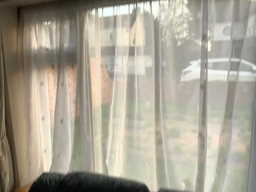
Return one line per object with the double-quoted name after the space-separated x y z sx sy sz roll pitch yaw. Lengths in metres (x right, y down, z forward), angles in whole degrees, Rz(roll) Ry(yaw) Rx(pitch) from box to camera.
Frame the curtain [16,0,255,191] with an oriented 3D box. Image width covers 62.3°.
0.220 0.070 1.390 2.250 1.510 0.130 3 11 22 "curtain"
